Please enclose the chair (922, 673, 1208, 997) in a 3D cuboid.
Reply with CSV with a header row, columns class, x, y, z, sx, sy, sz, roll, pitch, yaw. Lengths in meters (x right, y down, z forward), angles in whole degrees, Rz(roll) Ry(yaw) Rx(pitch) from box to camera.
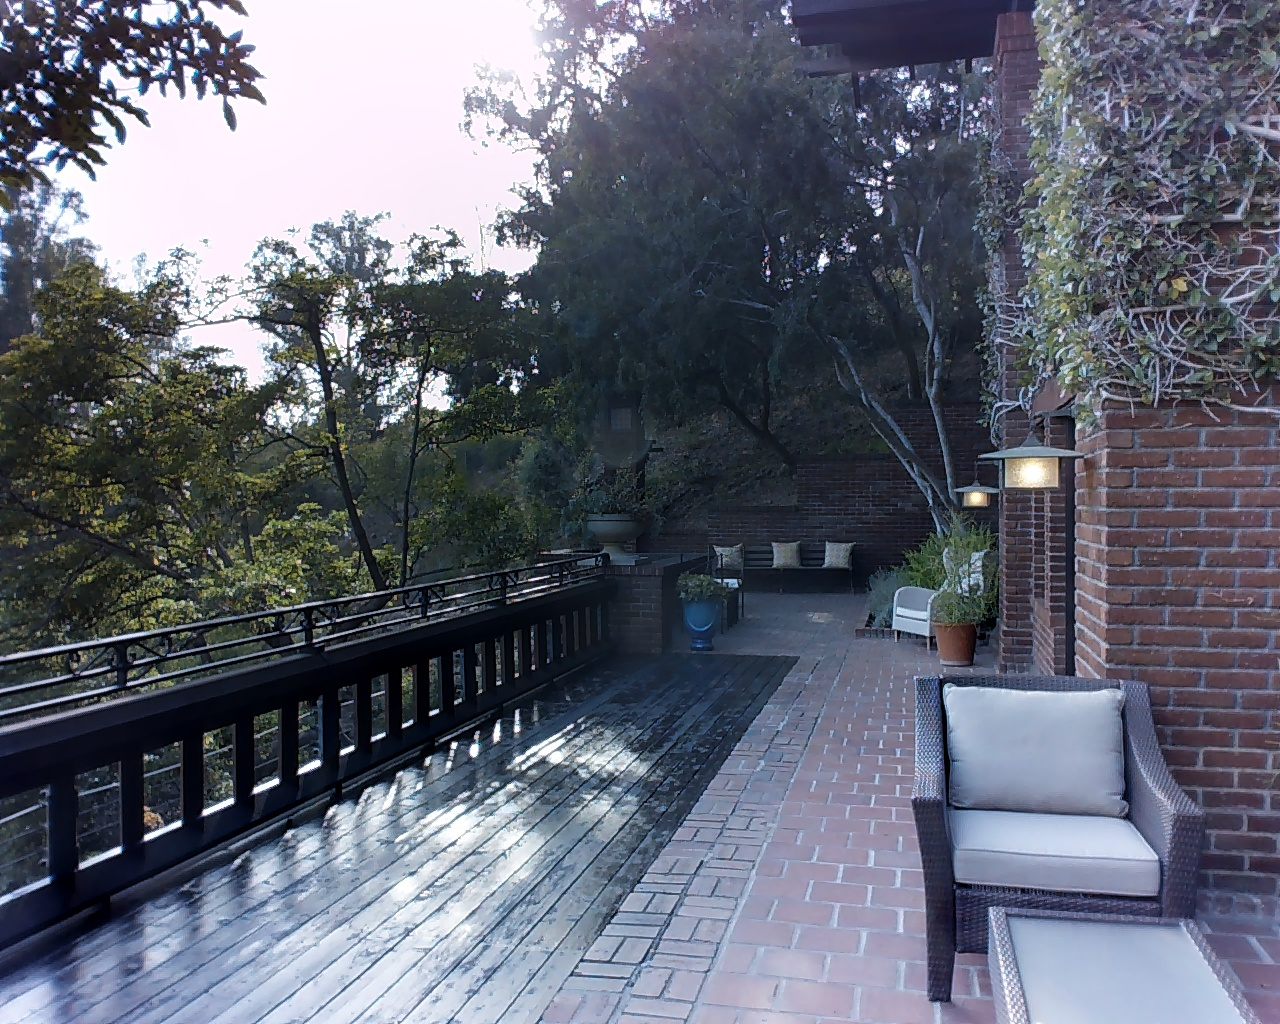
class,x,y,z,sx,sy,sz,roll,pitch,yaw
chair,1.400,1.030,3.710,0.810,0.780,0.920,0,1,16
